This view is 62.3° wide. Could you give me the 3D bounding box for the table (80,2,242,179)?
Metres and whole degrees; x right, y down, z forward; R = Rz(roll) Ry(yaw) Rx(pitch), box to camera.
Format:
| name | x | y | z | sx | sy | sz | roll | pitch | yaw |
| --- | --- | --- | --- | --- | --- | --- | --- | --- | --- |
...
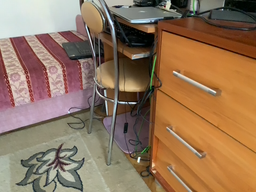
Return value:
| name | x | y | z | sx | sy | sz | roll | pitch | yaw |
| --- | --- | --- | --- | --- | --- | --- | --- | --- | --- |
| table | 0.120 | -0.100 | 1.240 | 0.540 | 0.750 | 0.610 | -16 | 34 | -27 |
